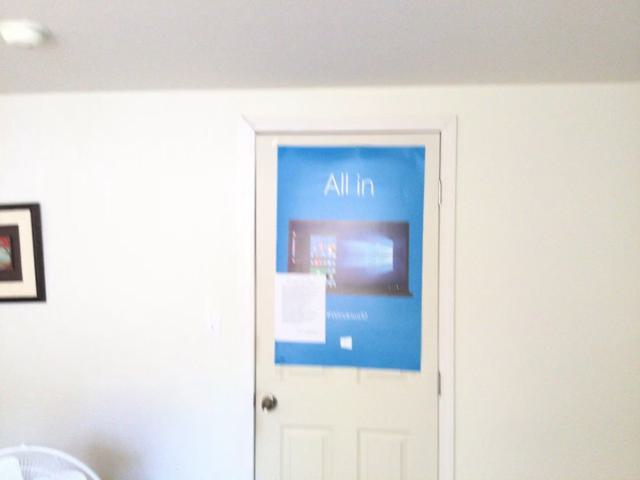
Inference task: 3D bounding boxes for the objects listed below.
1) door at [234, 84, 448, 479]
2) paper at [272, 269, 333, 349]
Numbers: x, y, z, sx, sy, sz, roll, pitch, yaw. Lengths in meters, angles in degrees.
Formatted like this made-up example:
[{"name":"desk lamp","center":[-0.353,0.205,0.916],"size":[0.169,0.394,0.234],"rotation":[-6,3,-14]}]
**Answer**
[{"name":"door","center":[0.090,0.510,2.320],"size":[0.810,2.180,0.150],"rotation":[-1,1,10]},{"name":"paper","center":[-0.070,0.280,2.370],"size":[0.230,0.310,0.070],"rotation":[2,-3,10]}]
